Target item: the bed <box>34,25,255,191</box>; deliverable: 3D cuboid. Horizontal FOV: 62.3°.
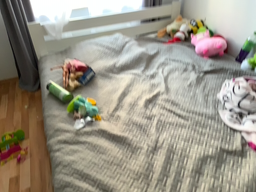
[{"bbox_3d":[0.230,0.030,1.710,1.710,0.380,2.080,-14,37,-16],"label":"bed"}]
